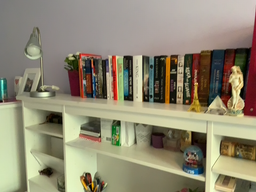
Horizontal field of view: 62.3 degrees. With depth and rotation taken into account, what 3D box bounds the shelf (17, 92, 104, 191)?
[{"bbox_3d":[-0.410,0.300,1.300,0.420,0.610,0.290,4,7,34],"label":"shelf"}]
